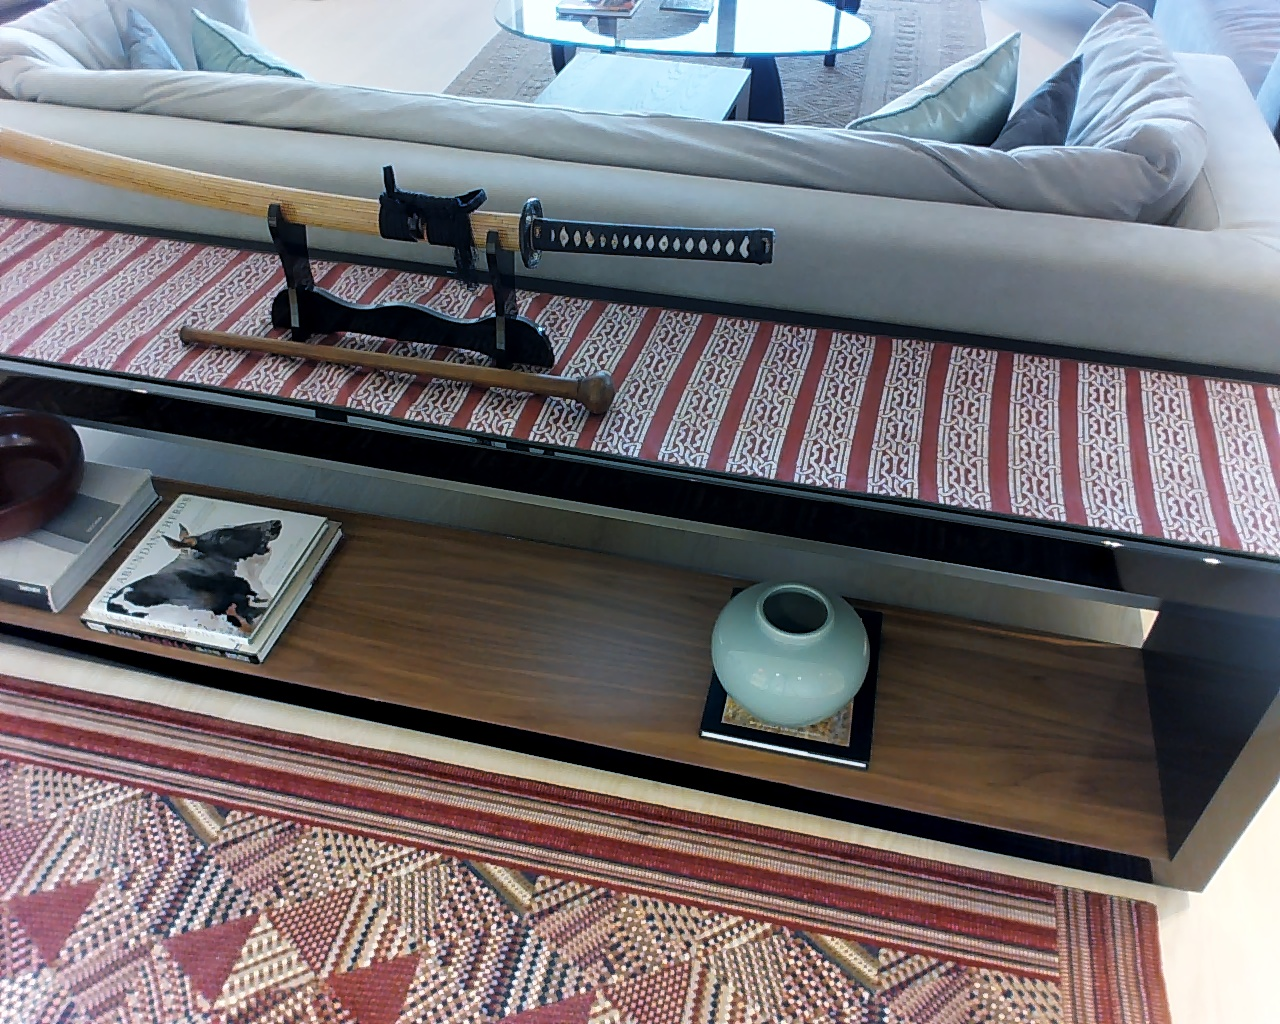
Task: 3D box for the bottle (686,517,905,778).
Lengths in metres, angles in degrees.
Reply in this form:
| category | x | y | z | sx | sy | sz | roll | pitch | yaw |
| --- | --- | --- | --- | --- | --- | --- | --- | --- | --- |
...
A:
| category | x | y | z | sx | sy | sz | roll | pitch | yaw |
| --- | --- | --- | --- | --- | --- | --- | --- | --- | --- |
| bottle | 0.230 | 0.190 | 1.580 | 0.260 | 0.180 | 0.290 | 10 | 42 | 11 |
